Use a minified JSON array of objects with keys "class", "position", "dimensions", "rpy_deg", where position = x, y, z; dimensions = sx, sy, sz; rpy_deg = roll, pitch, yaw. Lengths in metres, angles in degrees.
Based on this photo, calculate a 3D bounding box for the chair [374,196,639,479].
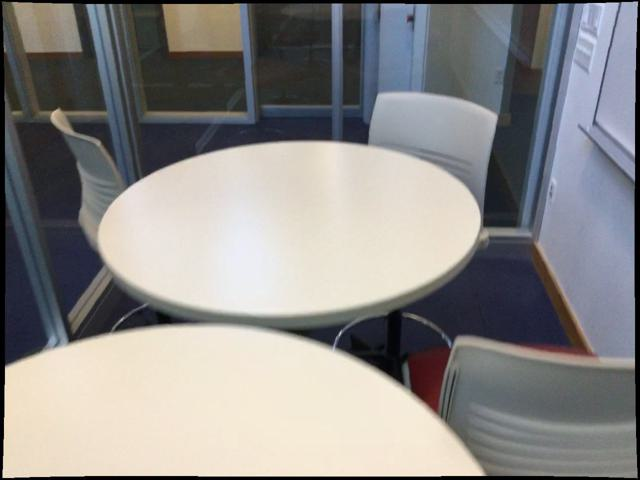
[{"class":"chair","position":[0.400,0.531,1.240],"dimensions":[0.529,1.131,0.510],"rpy_deg":[1,32,3]}]

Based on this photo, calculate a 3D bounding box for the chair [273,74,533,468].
[{"class":"chair","position":[0.270,0.090,2.010],"dimensions":[0.540,1.111,0.600],"rpy_deg":[21,38,31]}]
